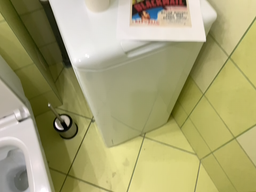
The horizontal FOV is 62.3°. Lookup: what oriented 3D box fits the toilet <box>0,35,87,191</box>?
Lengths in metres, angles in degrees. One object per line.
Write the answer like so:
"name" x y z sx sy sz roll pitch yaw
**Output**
"toilet" -0.490 0.220 0.820 0.380 0.820 0.630 -24 66 -11
